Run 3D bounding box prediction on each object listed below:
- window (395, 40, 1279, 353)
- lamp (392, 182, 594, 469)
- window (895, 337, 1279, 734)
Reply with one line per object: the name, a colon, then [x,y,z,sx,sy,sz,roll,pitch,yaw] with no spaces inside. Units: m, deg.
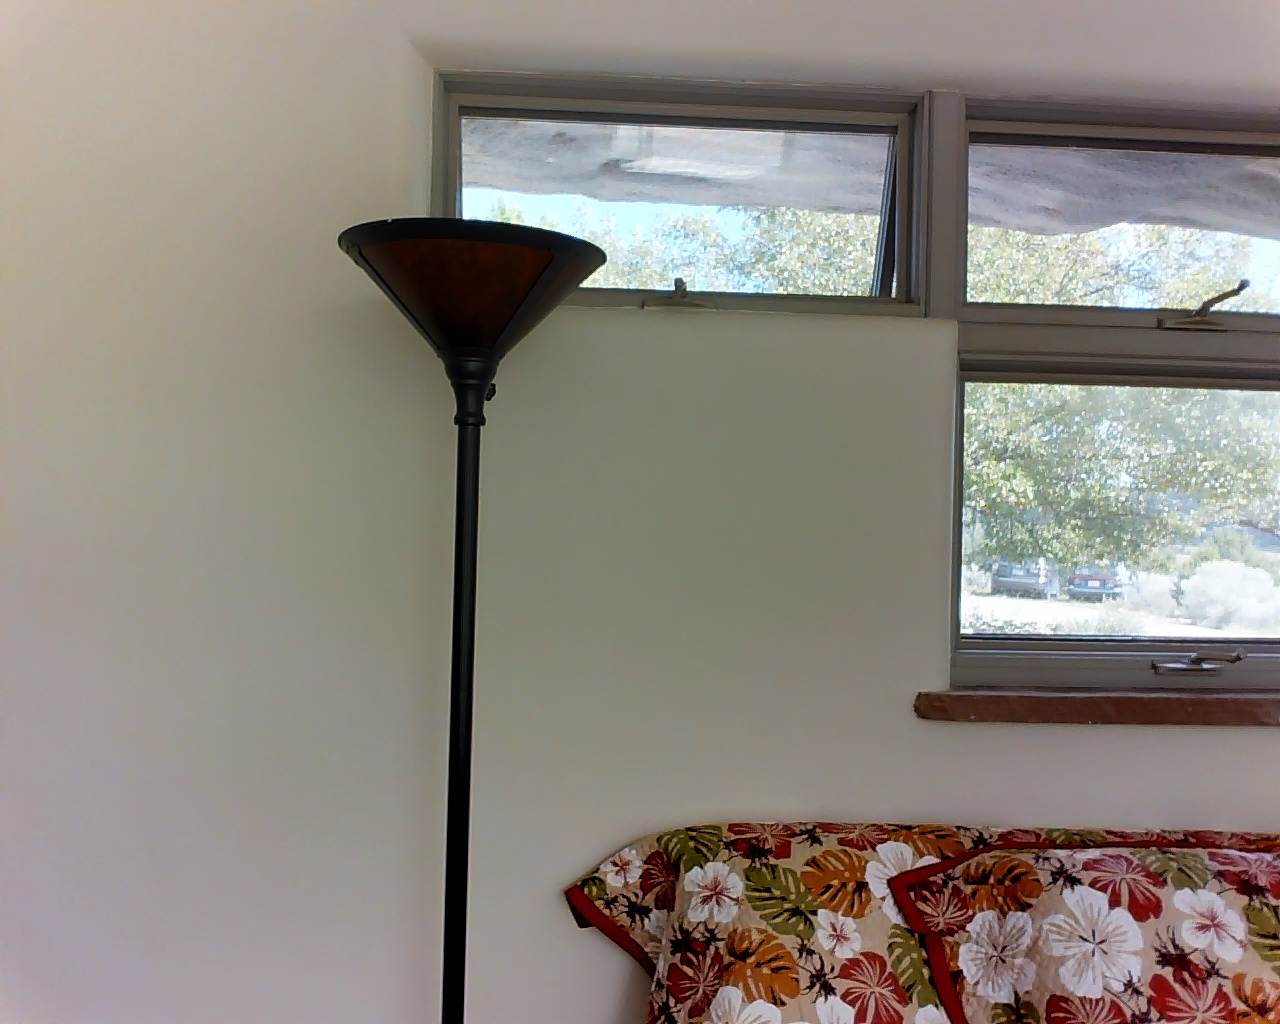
window: [0.960,-0.520,1.920,2.729,0.430,0.140,2,0,-3]
lamp: [-0.190,-0.240,1.470,0.240,0.320,0.250,2,-7,-3]
window: [1.000,0.050,1.930,1.030,0.660,0.170,2,0,-3]
